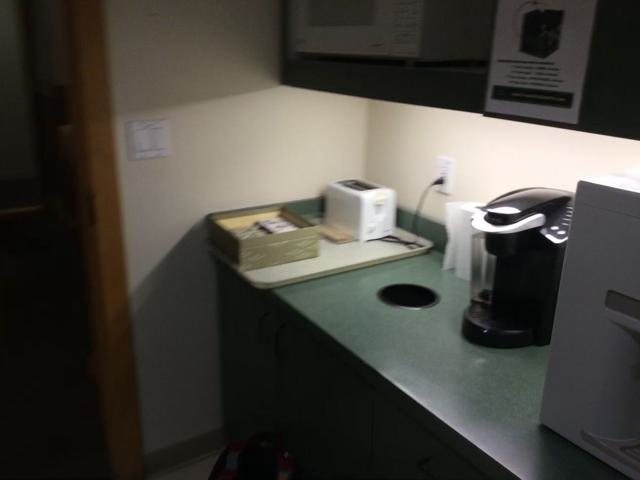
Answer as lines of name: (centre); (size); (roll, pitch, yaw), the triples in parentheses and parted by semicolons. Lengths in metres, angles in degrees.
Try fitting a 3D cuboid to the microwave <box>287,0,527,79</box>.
microwave: (0.210, -0.640, 1.620); (0.360, 0.300, 0.610); (-11, 24, -29)
